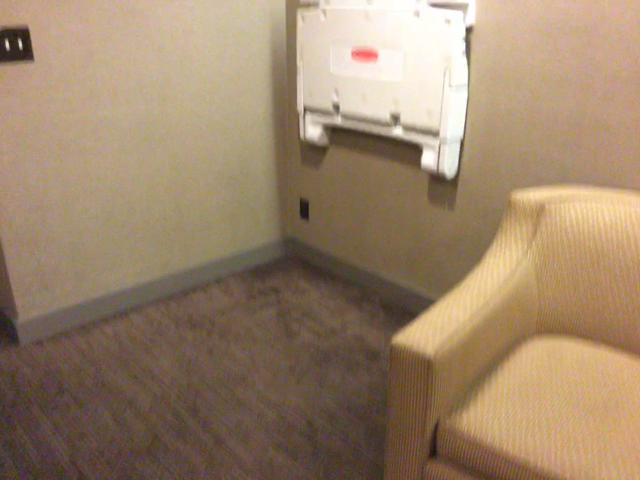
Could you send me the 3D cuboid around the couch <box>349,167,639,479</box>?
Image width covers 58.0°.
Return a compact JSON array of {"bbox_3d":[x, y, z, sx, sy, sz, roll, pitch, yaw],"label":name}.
[{"bbox_3d":[0.770,0.360,1.550,0.930,0.860,0.990,17,22,36],"label":"couch"}]
